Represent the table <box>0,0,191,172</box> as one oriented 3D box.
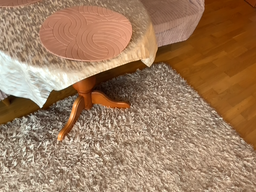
[{"bbox_3d":[-0.450,-0.420,1.400,0.730,0.710,1.430,-26,60,-23],"label":"table"}]
